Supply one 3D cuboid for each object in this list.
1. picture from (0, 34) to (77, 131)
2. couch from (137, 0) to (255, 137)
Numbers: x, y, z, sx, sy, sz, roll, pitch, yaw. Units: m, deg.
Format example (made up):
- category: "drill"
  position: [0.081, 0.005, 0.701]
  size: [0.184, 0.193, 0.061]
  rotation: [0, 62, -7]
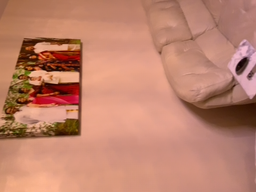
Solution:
- category: "picture"
  position: [-0.680, -0.170, 1.710]
  size: [0.080, 0.500, 0.950]
  rotation: [102, 164, -51]
- category: "couch"
  position: [0.720, -0.980, 1.990]
  size: [1.010, 0.910, 2.450]
  rotation: [102, 164, -50]
